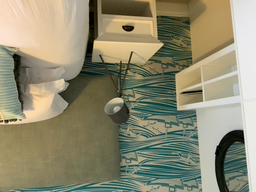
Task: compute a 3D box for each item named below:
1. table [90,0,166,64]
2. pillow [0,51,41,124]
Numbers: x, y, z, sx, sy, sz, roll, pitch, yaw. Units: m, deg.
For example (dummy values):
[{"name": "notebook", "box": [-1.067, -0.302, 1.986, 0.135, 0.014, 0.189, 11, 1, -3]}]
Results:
[{"name": "table", "box": [-0.040, -0.610, 1.610, 0.460, 0.610, 0.500, -1, 174, -12]}, {"name": "pillow", "box": [-0.730, -0.050, 1.100, 0.470, 0.360, 0.160, -1, -166, -13]}]
